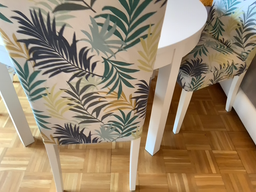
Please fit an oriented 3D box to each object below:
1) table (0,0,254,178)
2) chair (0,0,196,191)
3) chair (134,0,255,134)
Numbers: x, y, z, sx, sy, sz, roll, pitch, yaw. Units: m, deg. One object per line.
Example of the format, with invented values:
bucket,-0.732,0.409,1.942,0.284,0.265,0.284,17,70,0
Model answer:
table,-0.210,-0.220,1.320,1.170,0.740,1.130,2,41,-3
chair,-0.170,-0.040,0.930,0.520,0.980,0.540,-2,42,-8
chair,0.450,-0.330,1.330,0.590,0.960,0.480,-15,45,-21
